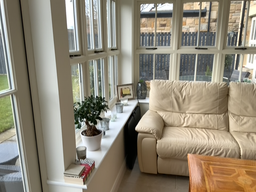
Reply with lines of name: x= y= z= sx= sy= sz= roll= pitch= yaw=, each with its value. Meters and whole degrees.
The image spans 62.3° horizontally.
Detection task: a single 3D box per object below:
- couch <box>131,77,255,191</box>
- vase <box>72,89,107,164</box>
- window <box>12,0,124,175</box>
couch: x=1.170 y=0.360 z=2.500 sx=2.120 sy=0.920 sz=1.030 roll=3 pitch=16 yaw=11
vase: x=-0.300 y=0.230 z=1.750 sx=0.160 sy=0.490 sz=0.390 roll=2 pitch=16 yaw=6
window: x=-0.360 y=-0.520 z=2.200 sx=0.250 sy=1.640 sz=2.000 roll=3 pitch=16 yaw=10
